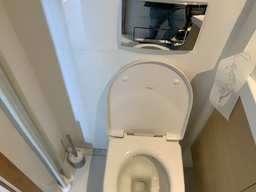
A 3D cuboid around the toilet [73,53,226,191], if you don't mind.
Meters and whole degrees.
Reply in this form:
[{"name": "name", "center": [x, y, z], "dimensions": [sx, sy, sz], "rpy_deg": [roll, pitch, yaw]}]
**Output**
[{"name": "toilet", "center": [0.050, 0.320, 0.980], "dimensions": [0.360, 0.880, 0.510], "rpy_deg": [4, 52, 0]}]
